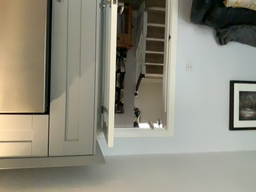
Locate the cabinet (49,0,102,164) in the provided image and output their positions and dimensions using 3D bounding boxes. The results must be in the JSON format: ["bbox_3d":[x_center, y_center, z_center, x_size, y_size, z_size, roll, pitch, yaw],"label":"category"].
[{"bbox_3d":[-0.370,-0.620,1.580,0.310,2.160,0.270,2,-179,-14],"label":"cabinet"}]
